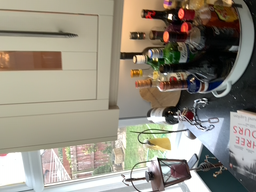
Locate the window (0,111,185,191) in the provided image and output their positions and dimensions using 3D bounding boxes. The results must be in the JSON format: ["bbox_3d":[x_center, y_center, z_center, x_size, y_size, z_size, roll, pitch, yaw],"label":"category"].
[{"bbox_3d":[-0.320,0.440,1.460,0.310,1.360,0.470,-127,38,-59],"label":"window"}]
